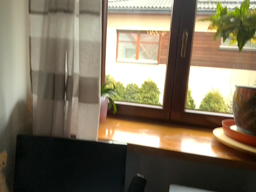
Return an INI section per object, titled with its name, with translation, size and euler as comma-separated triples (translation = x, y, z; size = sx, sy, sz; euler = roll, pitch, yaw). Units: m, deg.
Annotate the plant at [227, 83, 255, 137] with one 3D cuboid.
[plant]
translation = 0.610, 0.060, 1.010
size = 0.220, 0.200, 0.250
euler = 8, 11, 23
